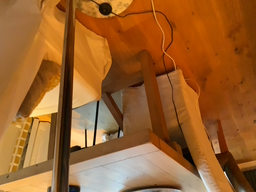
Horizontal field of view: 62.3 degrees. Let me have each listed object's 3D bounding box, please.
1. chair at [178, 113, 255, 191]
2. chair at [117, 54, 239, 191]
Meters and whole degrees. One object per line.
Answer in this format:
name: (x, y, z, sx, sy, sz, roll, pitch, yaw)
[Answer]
chair: (0.920, 0.760, 2.250, 0.530, 0.980, 0.450, -13, 143, 11)
chair: (0.330, 0.320, 1.580, 0.580, 0.980, 0.540, -24, 140, 25)
